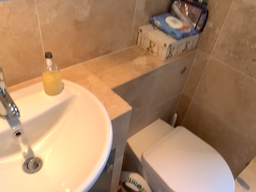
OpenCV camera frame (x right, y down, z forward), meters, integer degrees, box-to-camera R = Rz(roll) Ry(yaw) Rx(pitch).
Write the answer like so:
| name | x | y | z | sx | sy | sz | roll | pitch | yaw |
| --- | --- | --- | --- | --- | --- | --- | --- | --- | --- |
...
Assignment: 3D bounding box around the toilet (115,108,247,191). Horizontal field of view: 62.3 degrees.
| name | x | y | z | sx | sy | sz | roll | pitch | yaw |
| --- | --- | --- | --- | --- | --- | --- | --- | --- | --- |
| toilet | 0.270 | 0.480 | 1.300 | 0.400 | 0.450 | 0.560 | -27 | 53 | -34 |
